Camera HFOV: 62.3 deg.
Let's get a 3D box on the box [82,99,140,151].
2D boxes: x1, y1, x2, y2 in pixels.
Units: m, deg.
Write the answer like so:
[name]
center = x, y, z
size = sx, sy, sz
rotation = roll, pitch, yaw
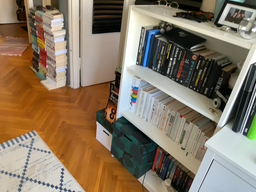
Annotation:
[box]
center = -0.170, 0.250, 2.010
size = 0.370, 0.190, 0.390
rotation = -20, 42, -39
